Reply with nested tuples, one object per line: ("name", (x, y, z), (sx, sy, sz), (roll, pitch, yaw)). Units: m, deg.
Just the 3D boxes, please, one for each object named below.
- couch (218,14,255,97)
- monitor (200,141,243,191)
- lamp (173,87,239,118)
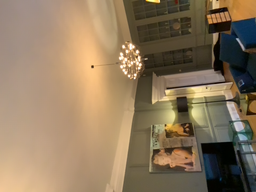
("couch", (2.160, -0.740, 3.860), (0.990, 0.740, 1.070), (-82, -19, -47))
("monitor", (2.040, 1.560, 4.730), (0.060, 0.690, 1.110), (68, -159, -52))
("lamp", (2.380, 0.210, 6.650), (0.550, 1.830, 0.580), (-81, -19, -48))
